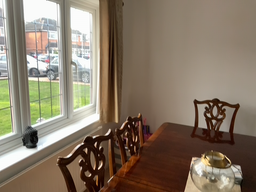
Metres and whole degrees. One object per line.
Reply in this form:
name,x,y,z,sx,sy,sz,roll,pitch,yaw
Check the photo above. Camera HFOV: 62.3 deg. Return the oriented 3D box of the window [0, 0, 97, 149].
window,-0.880,-0.250,1.860,0.110,1.210,2.040,7,13,23
